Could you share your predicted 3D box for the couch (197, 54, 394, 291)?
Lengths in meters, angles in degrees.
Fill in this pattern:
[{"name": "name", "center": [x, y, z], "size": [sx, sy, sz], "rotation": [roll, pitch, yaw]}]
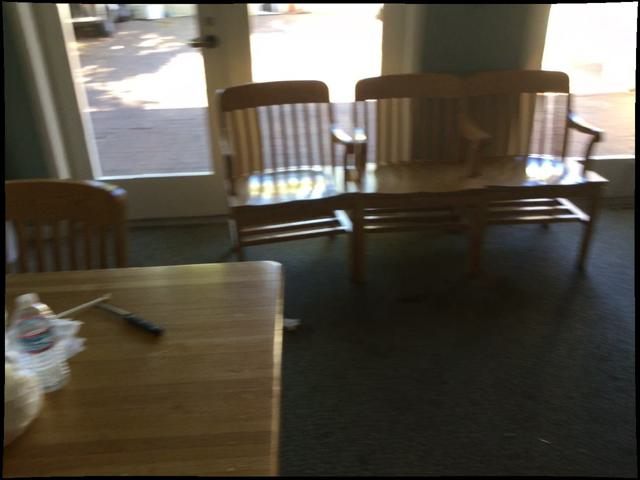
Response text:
[{"name": "couch", "center": [-0.100, -0.340, 2.700], "size": [0.739, 0.841, 0.730], "rotation": [-3, 30, -2]}]
